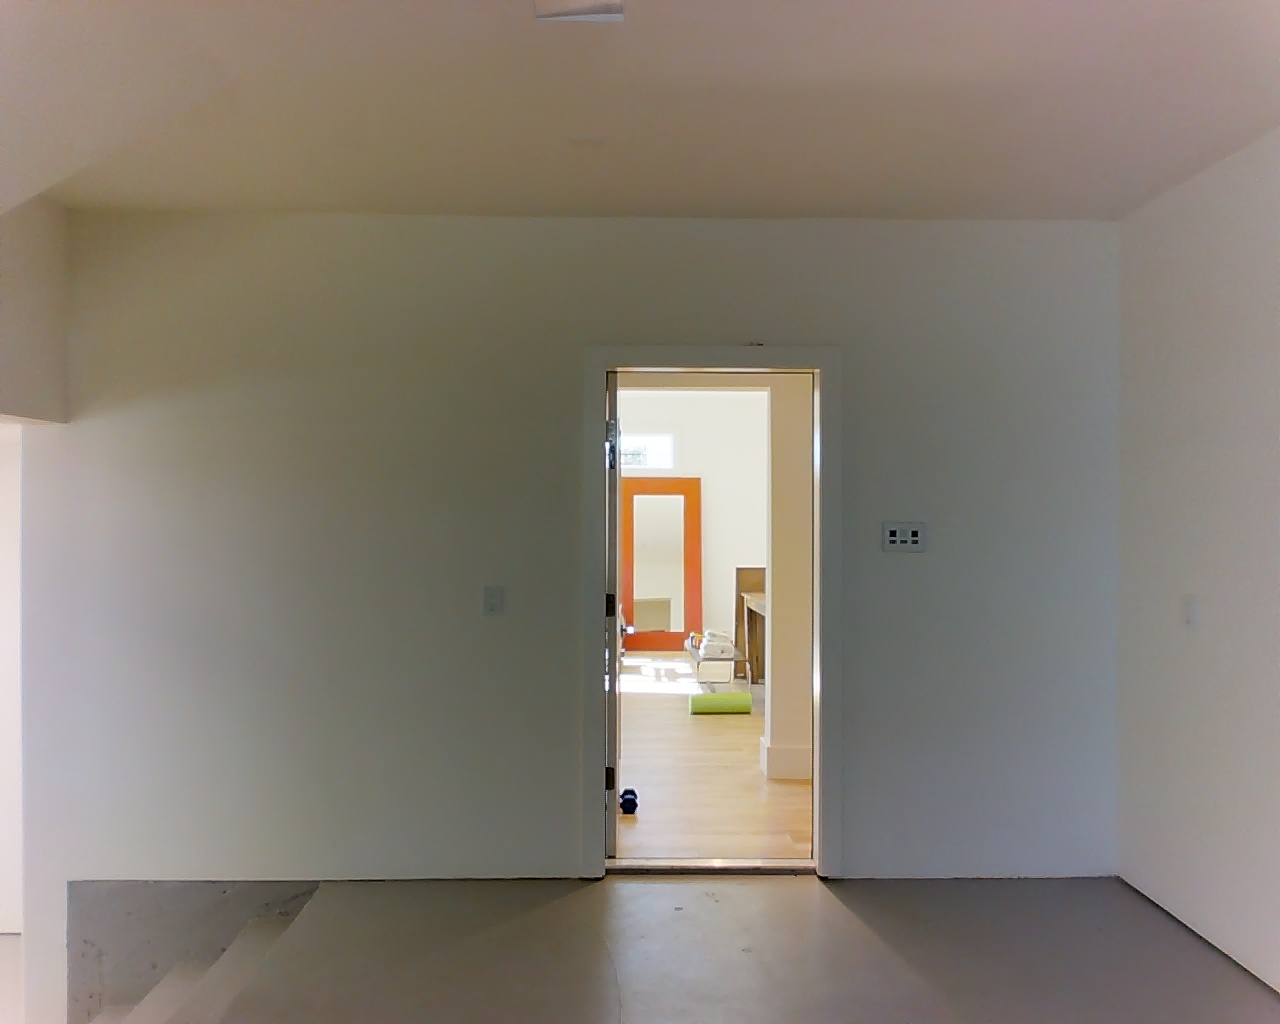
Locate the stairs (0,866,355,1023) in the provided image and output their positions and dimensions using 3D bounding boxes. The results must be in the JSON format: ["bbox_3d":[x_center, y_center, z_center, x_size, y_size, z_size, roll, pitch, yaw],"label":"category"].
[{"bbox_3d":[-1.870,1.950,3.740,1.390,0.950,1.440,0,1,-1],"label":"stairs"}]
